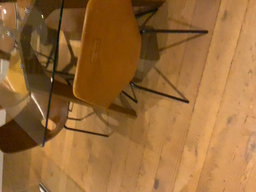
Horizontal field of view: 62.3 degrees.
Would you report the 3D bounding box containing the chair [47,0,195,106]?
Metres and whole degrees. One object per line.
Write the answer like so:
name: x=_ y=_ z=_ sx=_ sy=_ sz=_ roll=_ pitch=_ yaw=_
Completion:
chair: x=-0.020 y=-0.250 z=1.160 sx=0.410 sy=0.630 sz=0.470 roll=21 pitch=106 yaw=40
